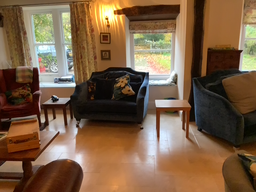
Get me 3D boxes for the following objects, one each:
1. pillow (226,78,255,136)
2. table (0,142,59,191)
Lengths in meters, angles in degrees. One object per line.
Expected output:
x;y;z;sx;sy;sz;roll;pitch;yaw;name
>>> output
1.630;0.110;2.730;0.590;0.510;0.320;-21;34;-26;pillow
-1.290;0.810;2.010;1.010;0.520;0.590;0;16;6;table
